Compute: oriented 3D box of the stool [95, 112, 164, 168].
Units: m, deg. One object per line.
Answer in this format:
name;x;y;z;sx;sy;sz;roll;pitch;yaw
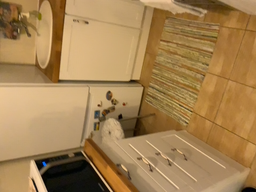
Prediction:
stool;0.010;0.380;1.980;0.320;0.500;0.330;32;117;47
